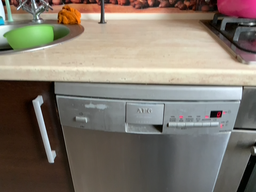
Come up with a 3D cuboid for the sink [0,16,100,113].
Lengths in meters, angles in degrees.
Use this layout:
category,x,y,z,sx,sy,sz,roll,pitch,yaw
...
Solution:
category,x,y,z,sx,sy,sz,roll,pitch,yaw
sink,-0.410,-0.160,0.790,0.510,0.180,0.480,2,30,4
